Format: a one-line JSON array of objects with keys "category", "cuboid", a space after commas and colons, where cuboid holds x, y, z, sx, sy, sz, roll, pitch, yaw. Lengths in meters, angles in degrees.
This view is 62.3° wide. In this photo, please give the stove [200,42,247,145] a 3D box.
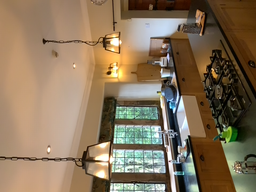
[{"category": "stove", "cuboid": [0.780, -0.040, 1.840, 0.510, 0.020, 0.750, 91, 180, -47]}]
